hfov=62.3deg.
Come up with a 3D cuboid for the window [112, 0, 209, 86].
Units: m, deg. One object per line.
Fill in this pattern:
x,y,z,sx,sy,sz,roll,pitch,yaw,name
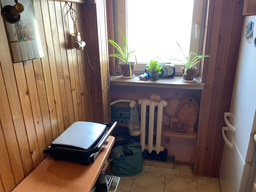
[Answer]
0.280,-0.690,1.980,0.850,1.170,0.120,3,20,9,window
